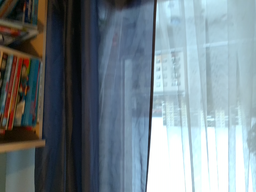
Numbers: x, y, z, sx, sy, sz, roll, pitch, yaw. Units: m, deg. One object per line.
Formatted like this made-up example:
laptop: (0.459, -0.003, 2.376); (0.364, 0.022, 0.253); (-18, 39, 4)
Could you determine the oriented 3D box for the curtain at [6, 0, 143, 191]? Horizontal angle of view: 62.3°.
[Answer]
curtain: (-0.260, 0.070, 0.980); (0.650, 2.580, 0.120); (-2, 174, 24)
